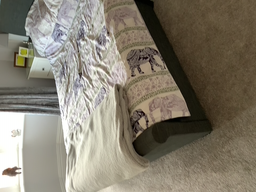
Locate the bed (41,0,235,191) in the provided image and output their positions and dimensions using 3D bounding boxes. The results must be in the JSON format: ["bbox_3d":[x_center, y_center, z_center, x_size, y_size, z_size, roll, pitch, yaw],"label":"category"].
[{"bbox_3d":[-0.300,-0.290,2.160,1.620,0.470,2.270,-44,55,44],"label":"bed"}]
